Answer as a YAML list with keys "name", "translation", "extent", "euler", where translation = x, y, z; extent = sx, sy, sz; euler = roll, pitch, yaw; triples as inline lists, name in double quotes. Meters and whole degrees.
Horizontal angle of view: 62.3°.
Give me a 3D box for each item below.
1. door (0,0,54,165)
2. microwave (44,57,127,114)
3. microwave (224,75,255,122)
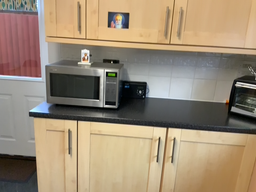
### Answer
- name: "door"
  translation: [-1.200, -0.250, 2.190]
  extent: [0.800, 2.090, 0.050]
  euler: [4, 16, 3]
- name: "microwave"
  translation: [-0.300, -0.110, 1.670]
  extent: [0.520, 0.320, 0.440]
  euler: [5, 16, 5]
- name: "microwave"
  translation: [1.020, 0.020, 1.590]
  extent: [0.410, 0.260, 0.420]
  euler: [16, 20, 37]
